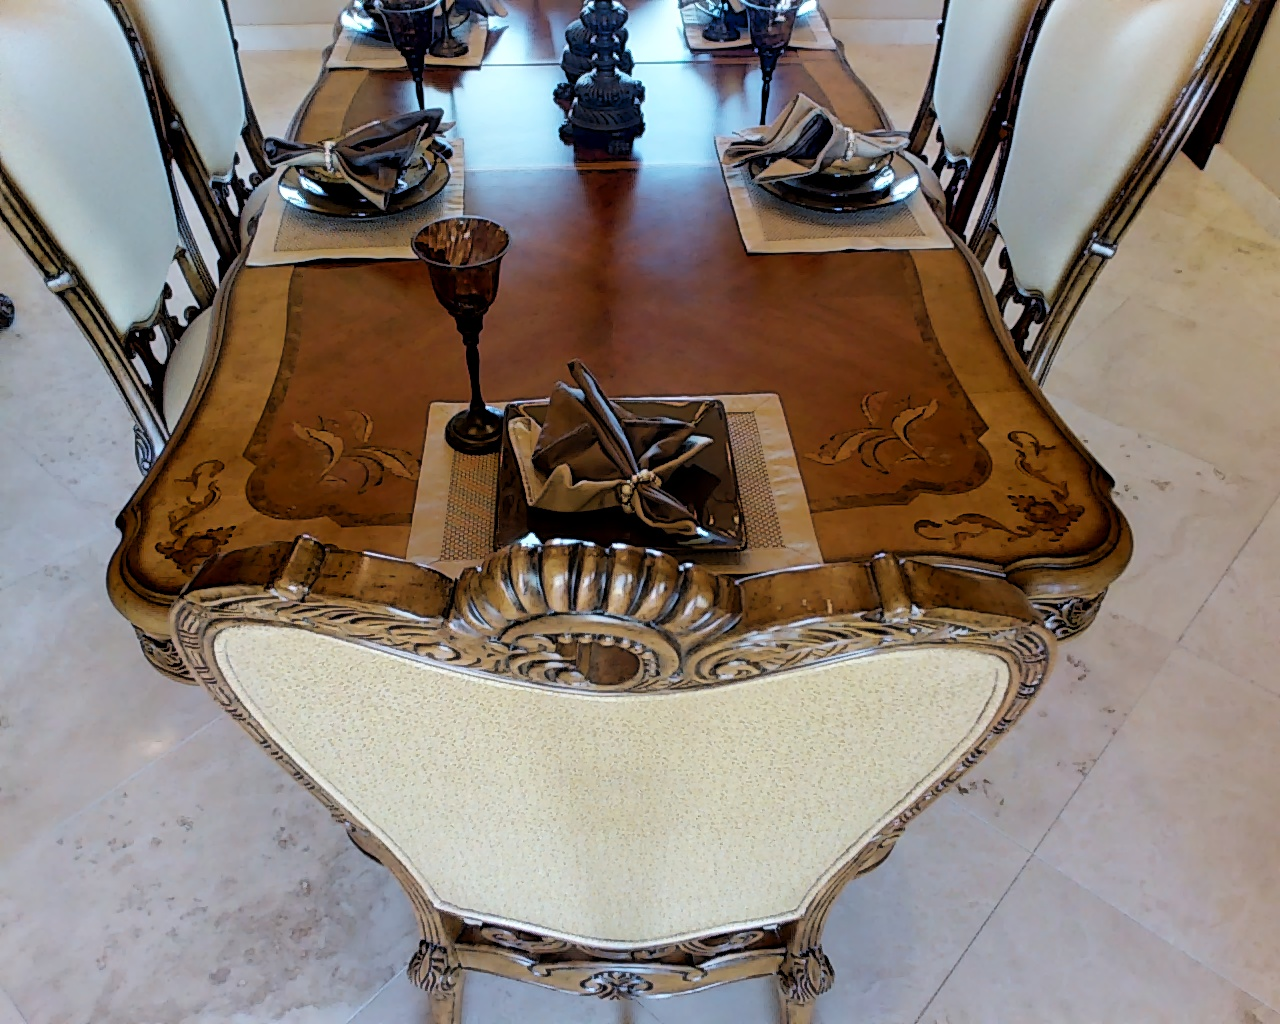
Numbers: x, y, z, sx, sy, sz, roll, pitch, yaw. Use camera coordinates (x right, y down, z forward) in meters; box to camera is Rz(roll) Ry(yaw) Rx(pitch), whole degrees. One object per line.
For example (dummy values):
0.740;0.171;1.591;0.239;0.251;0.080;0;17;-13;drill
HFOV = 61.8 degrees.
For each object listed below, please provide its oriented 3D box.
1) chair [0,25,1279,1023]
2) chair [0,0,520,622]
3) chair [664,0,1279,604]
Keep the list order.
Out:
-0.040;0.210;1.190;0.810;1.190;0.740;-2;43;-3;chair
-0.720;-0.690;2.160;0.830;1.220;1.310;-2;42;-2;chair
0.550;-0.720;2.220;0.840;1.200;1.300;-3;43;-4;chair
